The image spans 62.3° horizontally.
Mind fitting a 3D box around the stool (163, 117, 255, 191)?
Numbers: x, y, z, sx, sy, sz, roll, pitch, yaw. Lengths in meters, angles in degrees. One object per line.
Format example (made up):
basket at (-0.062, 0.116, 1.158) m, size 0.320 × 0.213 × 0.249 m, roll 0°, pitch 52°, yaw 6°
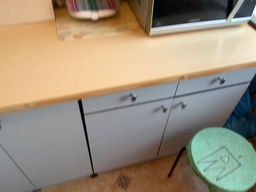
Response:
stool at (0.450, 0.410, 1.160) m, size 0.330 × 0.460 × 0.320 m, roll -12°, pitch 51°, yaw -14°
